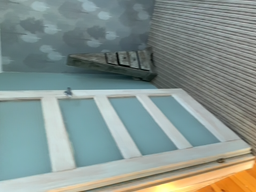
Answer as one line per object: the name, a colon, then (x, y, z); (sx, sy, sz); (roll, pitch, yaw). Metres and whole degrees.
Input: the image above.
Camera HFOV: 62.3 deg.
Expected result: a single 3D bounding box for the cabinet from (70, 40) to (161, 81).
cabinet: (-0.140, -0.380, 2.360); (0.350, 0.910, 0.330); (44, 130, 53)
